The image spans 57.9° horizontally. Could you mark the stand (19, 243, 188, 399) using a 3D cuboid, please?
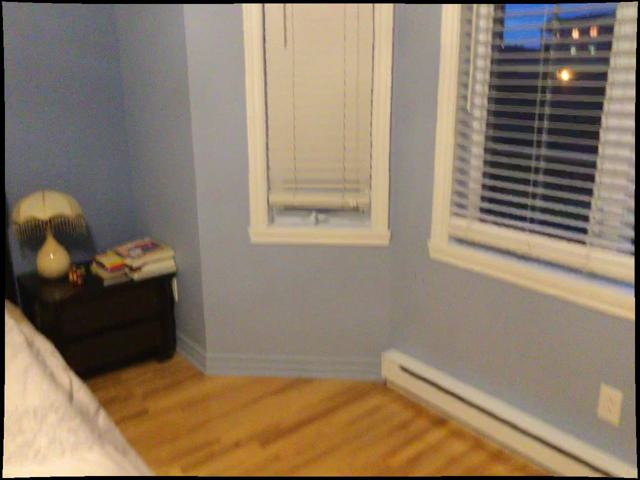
[{"bbox_3d":[-1.059,0.360,2.850,0.600,0.470,0.500,-15,22,-36],"label":"stand"}]

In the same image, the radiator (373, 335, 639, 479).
[{"bbox_3d":[0.819,0.721,1.970,0.110,0.180,1.729,-15,22,-36],"label":"radiator"}]

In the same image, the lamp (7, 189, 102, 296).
[{"bbox_3d":[-1.269,0.000,2.770,0.290,0.400,0.300,-15,22,-36],"label":"lamp"}]
